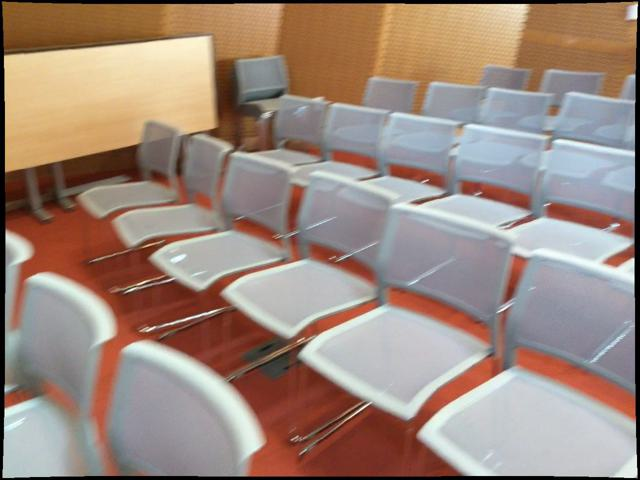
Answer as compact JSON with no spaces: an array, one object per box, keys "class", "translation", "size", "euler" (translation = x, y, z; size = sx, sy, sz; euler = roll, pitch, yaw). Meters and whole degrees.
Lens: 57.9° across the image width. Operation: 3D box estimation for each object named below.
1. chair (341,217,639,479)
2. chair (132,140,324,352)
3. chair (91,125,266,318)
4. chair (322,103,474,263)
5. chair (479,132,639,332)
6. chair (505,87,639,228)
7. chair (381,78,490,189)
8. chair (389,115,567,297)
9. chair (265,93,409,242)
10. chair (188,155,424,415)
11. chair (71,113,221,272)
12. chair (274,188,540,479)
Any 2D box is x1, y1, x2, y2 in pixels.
[{"class":"chair","translation":[0.529,0.400,1.570],"size":[0.610,0.661,0.720],"euler":[-20,28,-41]},{"class":"chair","translation":[-0.380,-0.020,2.510],"size":[0.560,0.681,0.550],"euler":[-20,28,-41]},{"class":"chair","translation":[-0.679,-0.130,2.830],"size":[0.620,0.731,0.510],"euler":[-14,24,-32]},{"class":"chair","translation":[0.420,-0.350,3.200],"size":[0.590,0.691,0.560],"euler":[-20,28,-41]},{"class":"chair","translation":[1.119,-0.080,2.540],"size":[0.570,0.651,0.550],"euler":[-20,28,-41]},{"class":"chair","translation":[1.578,-0.541,3.590],"size":[0.590,0.711,0.540],"euler":[-20,28,-41]},{"class":"chair","translation":[0.819,-0.791,4.170],"size":[0.530,0.671,0.530],"euler":[-20,28,-41]},{"class":"chair","translation":[0.769,-0.210,2.890],"size":[0.590,0.691,0.590],"euler":[-20,28,-41]},{"class":"chair","translation":[0.100,-0.470,3.480],"size":[0.530,0.721,0.650],"euler":[-20,28,-41]},{"class":"chair","translation":[-0.050,0.110,2.230],"size":[0.590,0.701,0.630],"euler":[-20,28,-41]},{"class":"chair","translation":[-0.929,-0.290,3.120],"size":[0.540,0.671,0.540],"euler":[-16,25,-34]},{"class":"chair","translation":[0.270,0.290,1.870],"size":[0.590,0.721,0.550],"euler":[-20,28,-41]}]
